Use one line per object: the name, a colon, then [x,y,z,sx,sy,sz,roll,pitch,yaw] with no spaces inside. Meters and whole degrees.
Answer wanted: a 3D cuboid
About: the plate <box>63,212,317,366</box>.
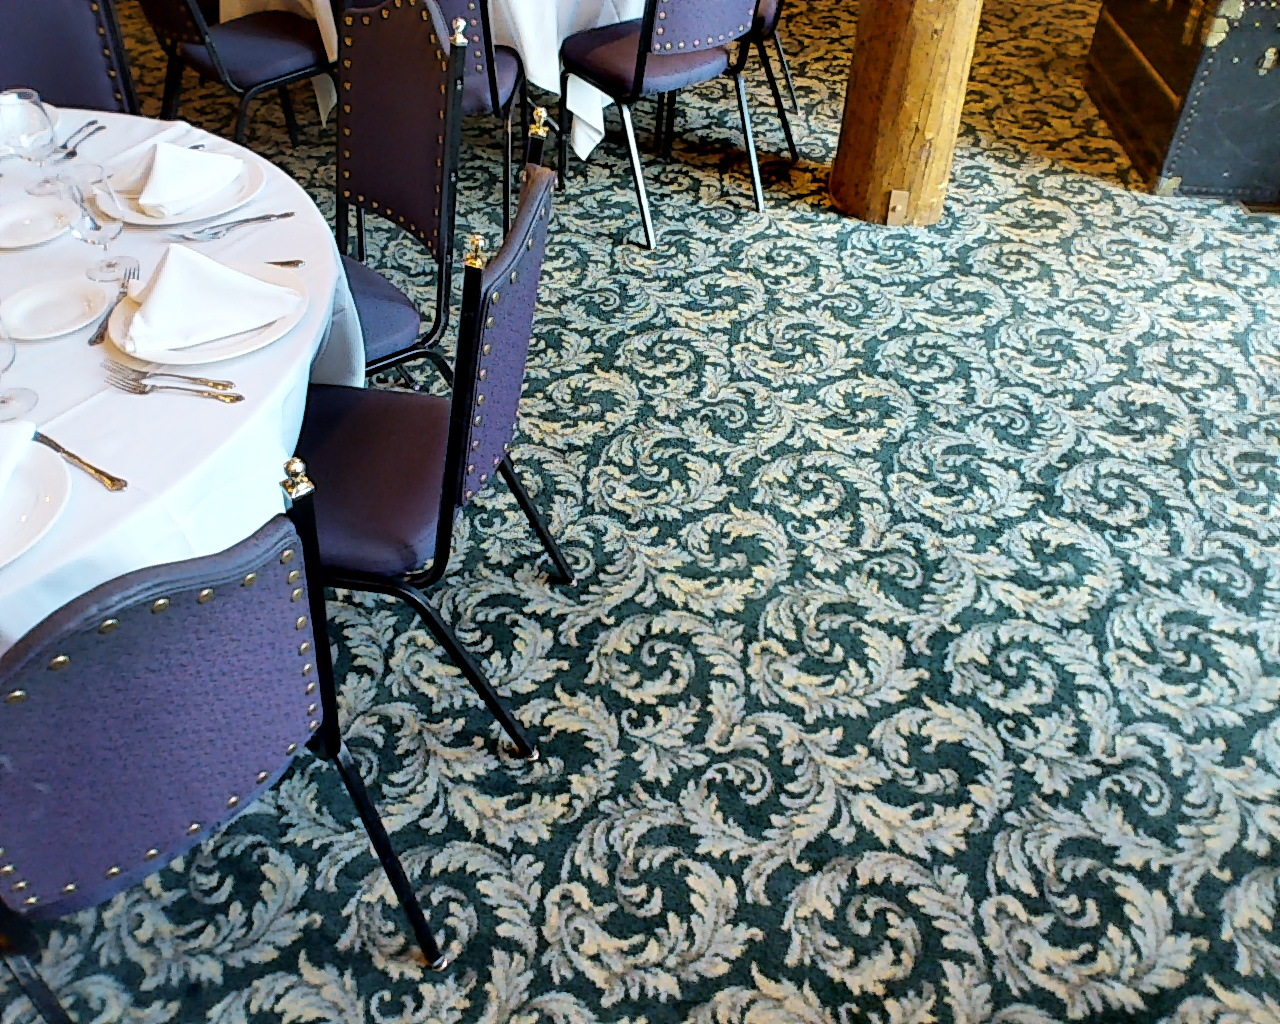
plate: [-0.620,-0.320,1.520,0.250,0.090,0.260,1,42,0]
